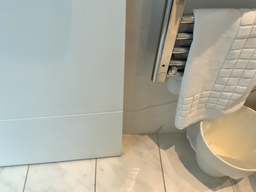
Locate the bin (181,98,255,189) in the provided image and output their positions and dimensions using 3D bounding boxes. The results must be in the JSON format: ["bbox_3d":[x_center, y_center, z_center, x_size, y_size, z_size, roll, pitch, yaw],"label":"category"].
[{"bbox_3d":[0.410,0.200,0.890,0.260,0.240,0.290,-2,54,-4],"label":"bin"}]
